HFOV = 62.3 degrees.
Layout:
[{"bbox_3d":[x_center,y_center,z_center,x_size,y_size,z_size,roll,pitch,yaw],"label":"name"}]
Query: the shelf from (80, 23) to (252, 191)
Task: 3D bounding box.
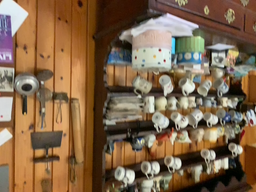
[{"bbox_3d":[0.380,0.250,1.530,1.390,1.190,0.310,0,-178,-36],"label":"shelf"}]
